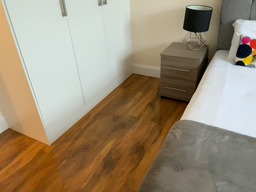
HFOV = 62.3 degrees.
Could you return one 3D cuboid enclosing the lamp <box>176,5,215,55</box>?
[{"bbox_3d":[0.670,-0.670,2.110,0.260,0.390,0.340,13,35,26],"label":"lamp"}]
